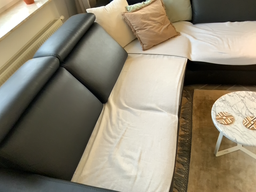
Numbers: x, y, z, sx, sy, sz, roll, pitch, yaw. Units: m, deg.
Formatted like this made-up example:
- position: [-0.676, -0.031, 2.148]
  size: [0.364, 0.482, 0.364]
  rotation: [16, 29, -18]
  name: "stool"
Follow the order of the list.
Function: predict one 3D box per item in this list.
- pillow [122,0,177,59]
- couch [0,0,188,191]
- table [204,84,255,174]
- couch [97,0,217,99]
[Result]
- position: [0.220, -0.650, 2.060]
  size: [0.200, 0.330, 0.490]
  rotation: [43, 101, 15]
  name: "pillow"
- position: [-0.160, 0.070, 1.480]
  size: [1.020, 0.830, 1.500]
  rotation: [3, 46, 16]
  name: "couch"
- position: [0.770, 0.220, 1.450]
  size: [0.430, 0.380, 0.450]
  rotation: [3, 46, 16]
  name: "table"
- position: [0.230, -0.670, 2.210]
  size: [0.570, 0.770, 1.110]
  rotation: [-28, 46, -16]
  name: "couch"
